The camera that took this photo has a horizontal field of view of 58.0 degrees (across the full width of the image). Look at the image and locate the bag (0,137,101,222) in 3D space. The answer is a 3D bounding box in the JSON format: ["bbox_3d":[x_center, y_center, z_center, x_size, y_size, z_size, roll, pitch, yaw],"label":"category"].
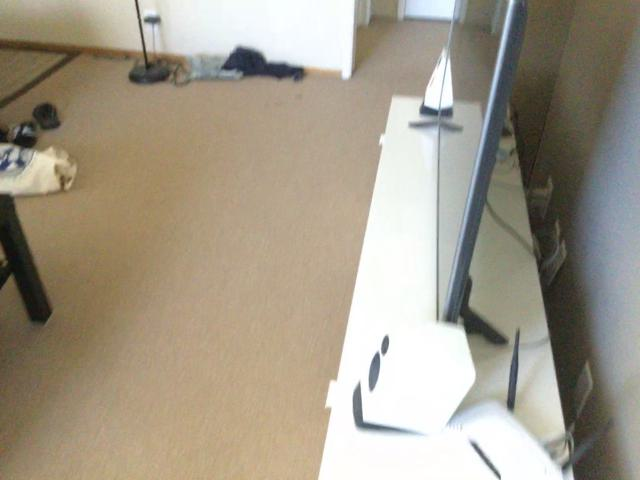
[{"bbox_3d":[-1.240,-0.260,2.360,0.520,0.140,0.370,7,36,8],"label":"bag"}]
